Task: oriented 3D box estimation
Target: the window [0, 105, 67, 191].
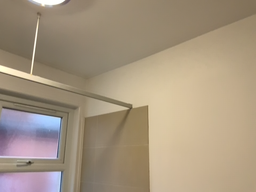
[{"bbox_3d":[-0.880,0.650,1.860,0.040,1.050,0.640,-15,-22,41],"label":"window"}]
